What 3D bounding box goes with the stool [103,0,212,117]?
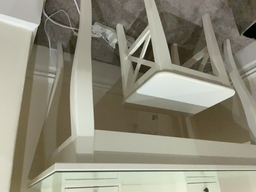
[{"bbox_3d":[0.120,-0.170,1.040,0.410,0.460,0.230,9,151,-28],"label":"stool"}]
